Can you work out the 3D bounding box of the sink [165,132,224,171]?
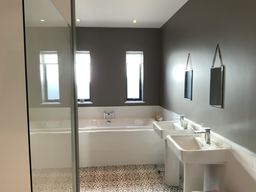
[{"bbox_3d":[0.660,0.560,2.240,0.400,0.200,0.590,-1,5,-5],"label":"sink"}]
